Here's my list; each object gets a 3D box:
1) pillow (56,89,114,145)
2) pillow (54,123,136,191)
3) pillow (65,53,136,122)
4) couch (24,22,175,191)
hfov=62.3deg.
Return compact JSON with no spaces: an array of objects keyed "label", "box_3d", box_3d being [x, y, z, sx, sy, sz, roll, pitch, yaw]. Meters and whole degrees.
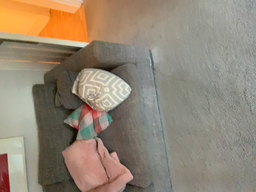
[{"label":"pillow","box_3d":[-0.370,0.190,1.880,0.320,0.380,0.120,-34,20,13]},{"label":"pillow","box_3d":[-0.330,0.690,1.800,0.620,0.260,0.650,55,129,32]},{"label":"pillow","box_3d":[-0.200,-0.050,1.620,0.320,0.390,0.210,-28,28,32]},{"label":"couch","box_3d":[-0.280,0.810,1.930,1.130,0.790,2.450,-13,81,49]}]
